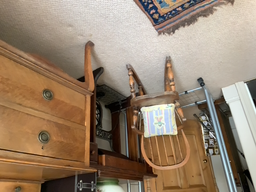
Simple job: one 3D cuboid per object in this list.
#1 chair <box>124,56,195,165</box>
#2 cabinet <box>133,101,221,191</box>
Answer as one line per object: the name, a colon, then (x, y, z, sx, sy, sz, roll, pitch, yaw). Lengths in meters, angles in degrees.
chair: (0.200, 0.110, 1.540, 0.370, 0.670, 0.350, -8, 153, 6)
cabinet: (0.570, 0.700, 2.460, 0.590, 0.940, 0.810, -21, 149, 28)
